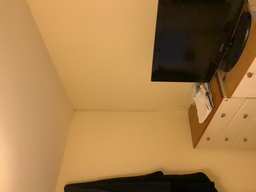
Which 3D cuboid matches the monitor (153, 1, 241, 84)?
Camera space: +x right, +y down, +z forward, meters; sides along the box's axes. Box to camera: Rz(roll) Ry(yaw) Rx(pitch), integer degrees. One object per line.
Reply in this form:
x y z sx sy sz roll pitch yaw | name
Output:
0.380 -0.290 1.360 0.630 0.430 0.050 82 -171 -56 | monitor
